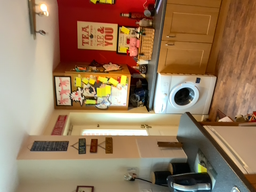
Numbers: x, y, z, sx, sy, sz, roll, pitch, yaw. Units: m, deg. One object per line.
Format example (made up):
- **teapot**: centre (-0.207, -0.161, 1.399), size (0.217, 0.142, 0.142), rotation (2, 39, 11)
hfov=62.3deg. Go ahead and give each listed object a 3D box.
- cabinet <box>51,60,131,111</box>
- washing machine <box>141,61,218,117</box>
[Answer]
- **cabinet**: centre (-0.550, -0.170, 3.240), size (0.580, 1.070, 0.580), rotation (-109, 22, -67)
- **washing machine**: centre (0.750, -0.130, 3.370), size (0.710, 0.920, 0.640), rotation (-109, 22, -67)
